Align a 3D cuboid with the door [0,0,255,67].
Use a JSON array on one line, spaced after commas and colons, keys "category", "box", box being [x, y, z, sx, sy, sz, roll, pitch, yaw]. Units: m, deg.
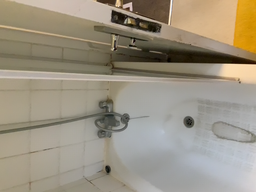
[{"category": "door", "box": [-0.190, -0.230, 0.710, 0.740, 1.900, 0.070, 18, 104, 45]}]
